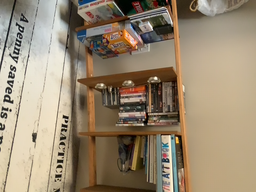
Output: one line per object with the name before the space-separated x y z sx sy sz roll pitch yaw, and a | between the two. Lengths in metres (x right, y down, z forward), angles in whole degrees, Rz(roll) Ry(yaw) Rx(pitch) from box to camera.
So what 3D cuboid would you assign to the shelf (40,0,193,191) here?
shelf | -0.010 -0.180 1.330 0.680 1.510 0.470 -5 163 24
